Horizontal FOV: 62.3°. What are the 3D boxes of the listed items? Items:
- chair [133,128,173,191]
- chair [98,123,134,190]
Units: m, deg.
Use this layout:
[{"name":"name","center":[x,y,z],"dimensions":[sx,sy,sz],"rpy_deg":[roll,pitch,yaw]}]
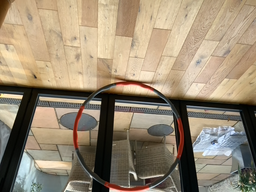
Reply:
[{"name":"chair","center":[0.370,0.980,3.210],"dimensions":[0.460,0.810,0.480],"rpy_deg":[-10,147,17]},{"name":"chair","center":[-0.170,0.860,3.030],"dimensions":[0.440,0.810,0.450],"rpy_deg":[5,148,-7]}]
